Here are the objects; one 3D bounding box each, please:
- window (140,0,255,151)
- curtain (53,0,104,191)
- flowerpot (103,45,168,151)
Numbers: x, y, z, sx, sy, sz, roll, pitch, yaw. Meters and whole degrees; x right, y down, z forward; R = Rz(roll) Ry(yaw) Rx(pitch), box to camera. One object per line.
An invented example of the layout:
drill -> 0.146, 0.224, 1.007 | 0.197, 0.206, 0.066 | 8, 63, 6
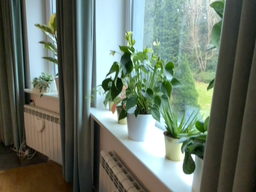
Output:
window -> 0.550, -0.670, 1.640 | 0.260, 1.750, 1.240 | -4, 13, -26
curtain -> -0.480, -0.420, 1.980 | 0.210, 2.850, 0.670 | -6, 14, -34
flowerpot -> 0.020, -0.020, 1.340 | 0.230, 0.580, 0.370 | -4, 14, -28
